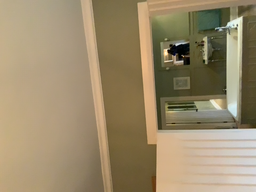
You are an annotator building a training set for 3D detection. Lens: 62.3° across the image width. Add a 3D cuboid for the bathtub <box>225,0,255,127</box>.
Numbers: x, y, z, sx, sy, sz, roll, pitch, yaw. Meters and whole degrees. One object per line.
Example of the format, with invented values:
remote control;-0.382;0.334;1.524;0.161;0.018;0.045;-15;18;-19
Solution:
bathtub;2.270;-0.610;4.030;0.950;0.570;2.170;-50;-44;-74
